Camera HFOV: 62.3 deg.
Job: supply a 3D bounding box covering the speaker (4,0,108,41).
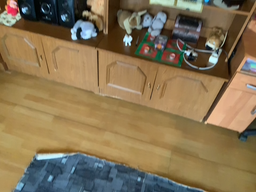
[{"bbox_3d":[-0.530,-0.780,1.590,0.680,0.450,0.360,15,46,7],"label":"speaker"}]
